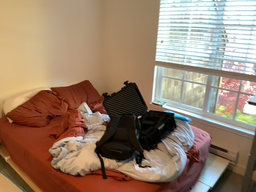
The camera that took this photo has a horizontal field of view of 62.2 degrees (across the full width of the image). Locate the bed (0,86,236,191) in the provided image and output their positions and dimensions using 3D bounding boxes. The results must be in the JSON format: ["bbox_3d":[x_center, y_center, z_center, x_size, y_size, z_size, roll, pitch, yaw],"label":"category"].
[{"bbox_3d":[-0.190,0.530,2.460,2.150,0.540,1.820,17,23,37],"label":"bed"}]
